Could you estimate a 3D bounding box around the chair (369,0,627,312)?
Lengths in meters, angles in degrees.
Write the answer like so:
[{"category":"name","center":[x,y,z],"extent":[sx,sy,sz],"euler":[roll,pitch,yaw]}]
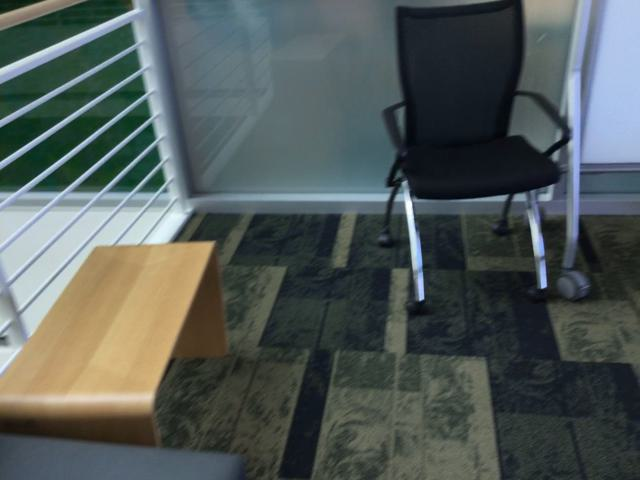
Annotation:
[{"category":"chair","center":[0.560,-0.340,2.040],"extent":[0.660,0.940,0.670],"euler":[-3,28,10]}]
